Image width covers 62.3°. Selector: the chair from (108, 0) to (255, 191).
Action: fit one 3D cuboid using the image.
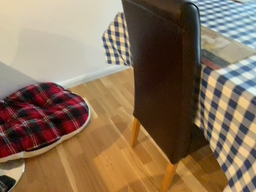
[{"bbox_3d":[0.310,0.010,1.040,0.610,0.990,0.470,-21,45,-22],"label":"chair"}]
